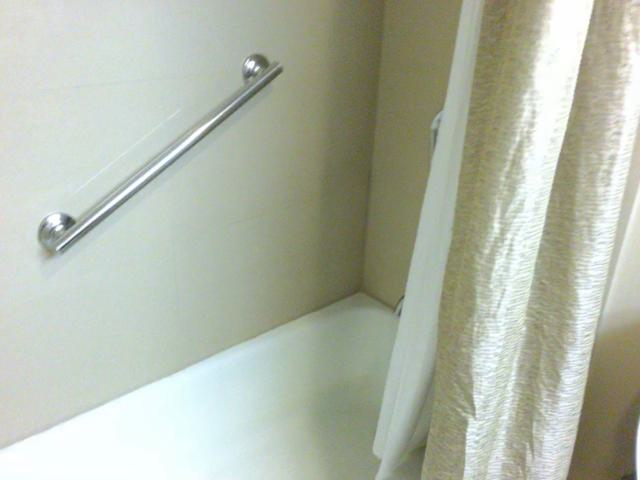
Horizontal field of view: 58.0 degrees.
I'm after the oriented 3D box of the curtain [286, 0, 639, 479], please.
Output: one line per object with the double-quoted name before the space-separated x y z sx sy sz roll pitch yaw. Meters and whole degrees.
"curtain" 0.370 -0.060 1.160 0.700 1.860 0.510 -16 26 -37
